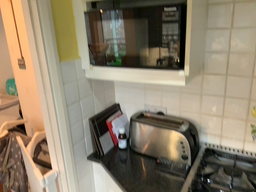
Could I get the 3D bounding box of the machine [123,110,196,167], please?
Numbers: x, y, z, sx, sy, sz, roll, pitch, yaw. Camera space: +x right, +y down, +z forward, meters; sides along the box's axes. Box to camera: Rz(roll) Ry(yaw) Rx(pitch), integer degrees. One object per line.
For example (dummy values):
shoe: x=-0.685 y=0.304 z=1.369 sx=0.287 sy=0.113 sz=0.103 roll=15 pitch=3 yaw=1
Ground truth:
machine: x=0.180 y=0.220 z=1.200 sx=0.350 sy=0.180 sz=0.210 roll=6 pitch=20 yaw=27
